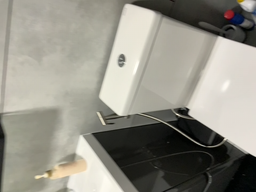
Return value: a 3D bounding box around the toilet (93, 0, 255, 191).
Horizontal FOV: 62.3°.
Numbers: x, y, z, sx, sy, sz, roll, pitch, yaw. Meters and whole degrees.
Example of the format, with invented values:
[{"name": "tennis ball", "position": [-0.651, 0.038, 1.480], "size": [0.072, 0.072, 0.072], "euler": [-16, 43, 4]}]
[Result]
[{"name": "toilet", "position": [0.420, -0.020, 0.860], "size": [0.660, 0.830, 0.390], "euler": [38, 119, 41]}]
